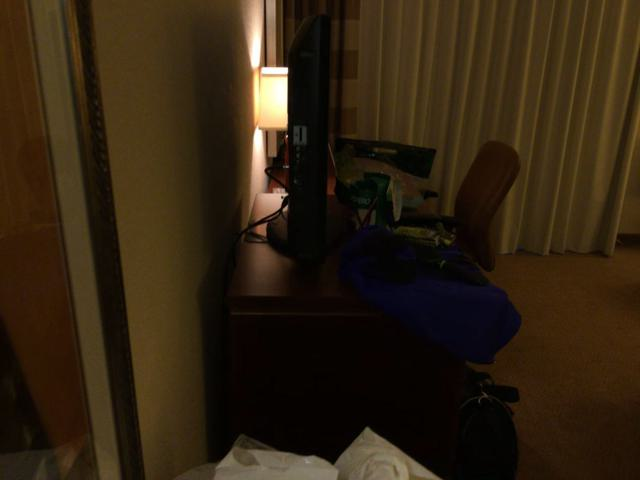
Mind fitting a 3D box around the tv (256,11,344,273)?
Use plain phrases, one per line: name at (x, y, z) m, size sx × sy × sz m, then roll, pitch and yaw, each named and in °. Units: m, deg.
tv at (-0.030, -0.200, 1.180) m, size 0.150 × 0.490 × 0.210 m, roll -1°, pitch 21°, yaw 1°
